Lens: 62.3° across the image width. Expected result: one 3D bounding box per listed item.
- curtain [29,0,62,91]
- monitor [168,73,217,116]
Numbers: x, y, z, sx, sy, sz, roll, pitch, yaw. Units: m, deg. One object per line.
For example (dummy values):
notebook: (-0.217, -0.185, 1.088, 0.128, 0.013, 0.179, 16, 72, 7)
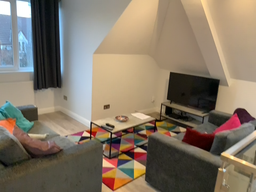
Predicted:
curtain: (-1.660, -1.060, 4.330, 0.580, 1.880, 0.160, -9, 19, -42)
monitor: (1.270, -0.060, 4.330, 0.050, 0.670, 0.970, -12, 22, -42)
